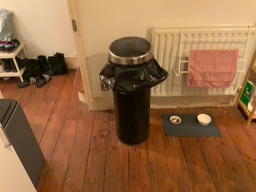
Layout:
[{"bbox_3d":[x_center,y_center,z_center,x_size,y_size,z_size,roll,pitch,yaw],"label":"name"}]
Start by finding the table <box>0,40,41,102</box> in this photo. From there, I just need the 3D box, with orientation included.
[{"bbox_3d":[-1.640,-0.290,2.570,0.870,0.600,0.410,-3,36,-1],"label":"table"}]
